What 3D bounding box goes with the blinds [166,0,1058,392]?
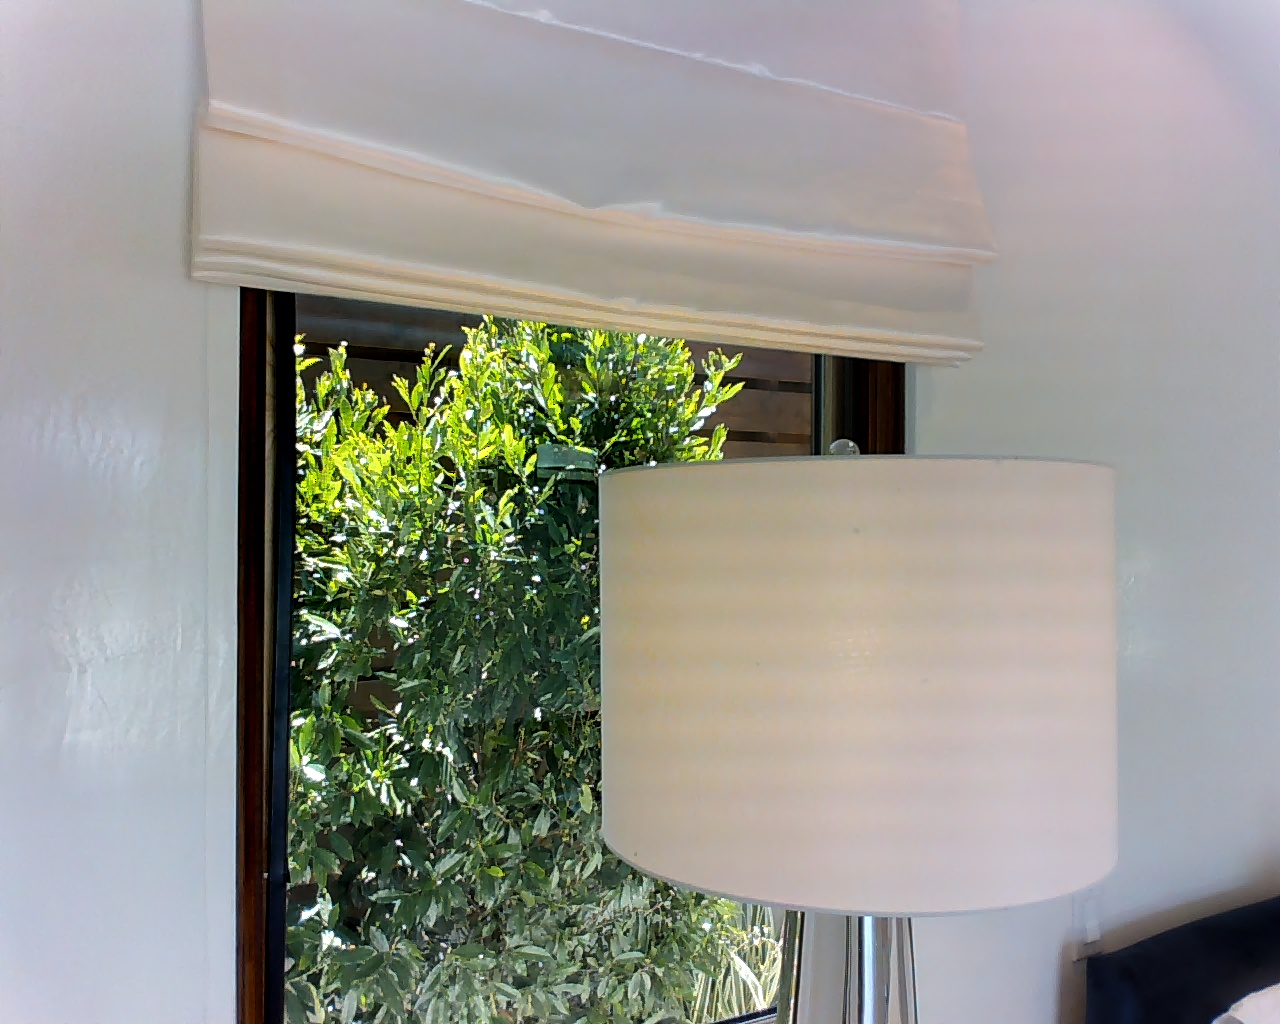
[{"bbox_3d":[0.050,-0.500,1.260,1.090,0.630,0.170,1,0,-30],"label":"blinds"}]
